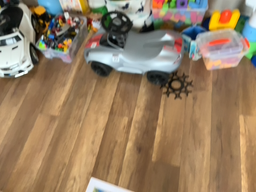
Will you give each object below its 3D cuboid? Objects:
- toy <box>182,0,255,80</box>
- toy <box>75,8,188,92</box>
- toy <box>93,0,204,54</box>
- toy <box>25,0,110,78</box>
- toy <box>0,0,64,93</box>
[{"bbox_3d":[0.640,-0.410,1.520,0.380,0.250,0.450,15,62,15],"label":"toy"},{"bbox_3d":[0.040,-0.340,1.530,0.660,0.310,0.390,13,61,14],"label":"toy"},{"bbox_3d":[0.170,-0.660,1.610,0.700,0.460,0.400,8,60,11],"label":"toy"},{"bbox_3d":[-0.450,-0.470,1.710,0.420,0.280,0.500,13,61,14],"label":"toy"},{"bbox_3d":[-0.930,-0.450,1.730,0.440,0.310,0.710,14,62,14],"label":"toy"}]
